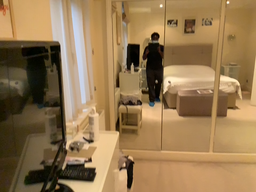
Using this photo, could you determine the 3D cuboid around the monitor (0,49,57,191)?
[{"bbox_3d":[-0.310,0.150,0.600,0.030,0.540,0.780,-3,14,-8],"label":"monitor"}]
